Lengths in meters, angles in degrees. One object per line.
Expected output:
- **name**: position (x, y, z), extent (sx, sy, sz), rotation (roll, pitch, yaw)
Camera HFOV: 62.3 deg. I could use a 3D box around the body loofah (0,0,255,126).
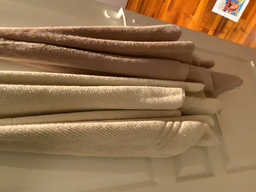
- **body loofah**: position (0.050, -0.120, 0.680), extent (0.140, 1.080, 0.410), rotation (-31, 59, 55)
